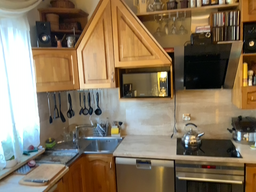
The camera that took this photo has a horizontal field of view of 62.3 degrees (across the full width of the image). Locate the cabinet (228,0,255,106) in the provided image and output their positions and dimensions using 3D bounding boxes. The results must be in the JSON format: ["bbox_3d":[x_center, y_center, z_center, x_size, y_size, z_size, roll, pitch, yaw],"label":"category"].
[{"bbox_3d":[1.300,-0.560,2.070,0.490,1.260,0.390,-1,8,13],"label":"cabinet"}]

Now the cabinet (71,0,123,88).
[{"bbox_3d":[-0.330,-0.620,2.440,0.430,1.020,0.380,-1,8,13],"label":"cabinet"}]
